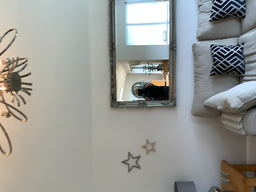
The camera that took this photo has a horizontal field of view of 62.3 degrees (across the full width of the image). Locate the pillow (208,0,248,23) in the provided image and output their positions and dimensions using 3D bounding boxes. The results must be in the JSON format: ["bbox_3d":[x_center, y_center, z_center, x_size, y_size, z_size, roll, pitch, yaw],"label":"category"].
[{"bbox_3d":[1.170,-1.090,2.510,0.190,0.410,0.340,-12,-79,-72],"label":"pillow"}]

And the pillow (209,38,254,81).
[{"bbox_3d":[1.220,-0.420,2.540,0.240,0.460,0.450,-7,-84,-70],"label":"pillow"}]

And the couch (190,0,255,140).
[{"bbox_3d":[1.320,-0.730,2.470,1.050,0.930,2.250,-38,-53,-87],"label":"couch"}]

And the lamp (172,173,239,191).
[{"bbox_3d":[0.980,1.410,2.800,0.570,0.690,0.600,38,-128,-87],"label":"lamp"}]

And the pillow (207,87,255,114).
[{"bbox_3d":[1.160,0.030,2.350,0.730,0.450,0.250,-5,-85,-64],"label":"pillow"}]
